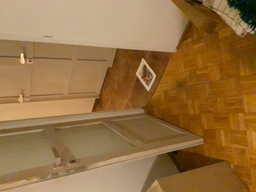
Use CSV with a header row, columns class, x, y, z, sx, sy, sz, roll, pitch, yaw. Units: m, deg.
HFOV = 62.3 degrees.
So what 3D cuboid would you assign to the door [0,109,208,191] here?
class,x,y,z,sx,sy,sz,roll,pitch,yaw
door,-0.430,0.310,1.410,0.760,1.950,0.100,21,110,56
